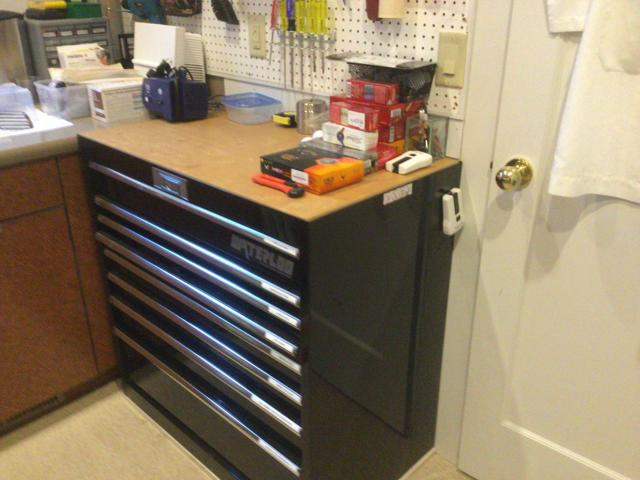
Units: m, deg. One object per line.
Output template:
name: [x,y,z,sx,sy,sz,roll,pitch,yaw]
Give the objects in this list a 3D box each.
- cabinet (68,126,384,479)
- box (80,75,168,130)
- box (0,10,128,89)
cabinet: [-0.280,0.120,1.480,0.900,0.650,0.200,21,31,37]
box: [-0.590,-0.420,1.750,0.150,0.120,0.190,21,31,37]
box: [-0.880,-0.650,1.940,0.260,0.210,0.340,21,31,37]
